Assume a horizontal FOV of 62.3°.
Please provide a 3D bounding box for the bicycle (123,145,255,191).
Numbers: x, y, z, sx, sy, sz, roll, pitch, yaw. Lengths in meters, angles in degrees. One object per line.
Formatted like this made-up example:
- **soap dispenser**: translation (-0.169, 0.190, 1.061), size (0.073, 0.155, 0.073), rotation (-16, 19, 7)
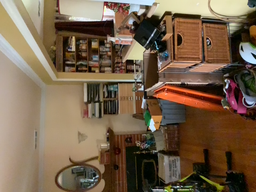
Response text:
- **bicycle**: translation (0.610, 0.980, 2.200), size (1.760, 1.030, 0.710), rotation (146, 123, -76)

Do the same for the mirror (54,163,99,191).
- **mirror**: translation (-0.980, 1.570, 4.090), size (0.110, 0.820, 0.470), rotation (153, 117, -77)
